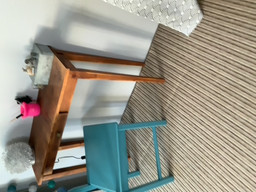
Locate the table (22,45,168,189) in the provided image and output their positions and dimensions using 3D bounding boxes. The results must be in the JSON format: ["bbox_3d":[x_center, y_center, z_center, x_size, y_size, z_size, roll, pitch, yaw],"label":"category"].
[{"bbox_3d":[-0.240,0.150,1.490,0.290,0.770,0.830,44,122,40],"label":"table"}]
